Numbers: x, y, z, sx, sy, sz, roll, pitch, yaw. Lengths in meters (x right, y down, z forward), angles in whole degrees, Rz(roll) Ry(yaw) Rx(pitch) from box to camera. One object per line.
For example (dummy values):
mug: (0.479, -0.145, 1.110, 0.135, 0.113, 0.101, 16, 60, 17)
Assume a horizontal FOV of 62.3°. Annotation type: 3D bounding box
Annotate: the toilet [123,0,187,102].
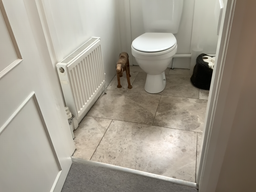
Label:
toilet: (0.270, -0.480, 1.840, 0.360, 0.760, 0.700, 8, 35, 17)
